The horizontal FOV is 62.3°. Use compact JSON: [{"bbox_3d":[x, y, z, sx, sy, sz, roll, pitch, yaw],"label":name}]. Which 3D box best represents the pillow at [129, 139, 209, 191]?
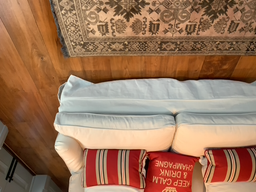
[{"bbox_3d":[0.340,0.700,1.790,0.500,0.430,0.250,22,151,19],"label":"pillow"}]

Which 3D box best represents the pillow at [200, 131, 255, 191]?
[{"bbox_3d":[0.830,0.530,1.560,0.470,0.300,0.120,37,161,26],"label":"pillow"}]

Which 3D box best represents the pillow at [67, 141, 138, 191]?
[{"bbox_3d":[-0.190,0.590,1.670,0.470,0.280,0.130,19,150,16],"label":"pillow"}]
